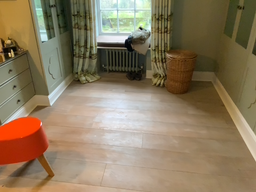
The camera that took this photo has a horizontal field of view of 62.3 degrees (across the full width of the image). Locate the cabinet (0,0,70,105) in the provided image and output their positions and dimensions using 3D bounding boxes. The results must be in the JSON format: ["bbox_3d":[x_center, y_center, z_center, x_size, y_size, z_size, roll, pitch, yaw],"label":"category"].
[{"bbox_3d":[-1.380,-1.320,2.550,0.680,2.630,1.120,2,28,4],"label":"cabinet"}]

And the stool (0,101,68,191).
[{"bbox_3d":[-0.850,0.410,1.620,0.460,0.460,0.530,15,31,27],"label":"stool"}]

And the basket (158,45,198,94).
[{"bbox_3d":[0.690,-0.390,3.040,0.470,0.560,0.420,3,28,6],"label":"basket"}]
